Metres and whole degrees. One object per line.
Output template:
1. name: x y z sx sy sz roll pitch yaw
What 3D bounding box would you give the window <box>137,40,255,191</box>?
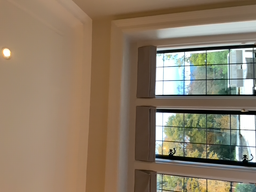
1. window: 0.930 0.430 2.430 0.090 1.660 2.100 16 -106 -73
